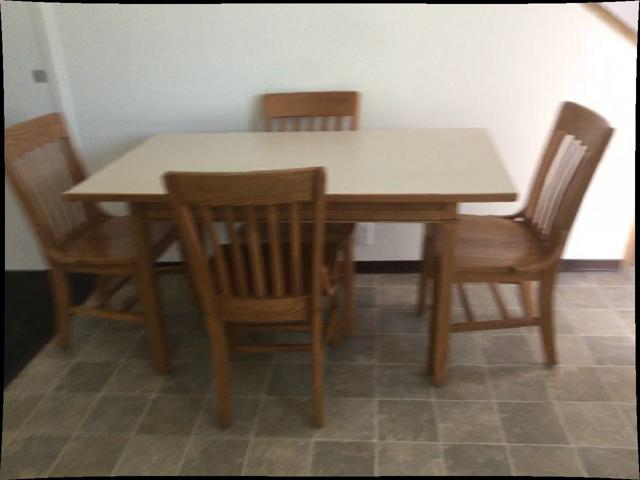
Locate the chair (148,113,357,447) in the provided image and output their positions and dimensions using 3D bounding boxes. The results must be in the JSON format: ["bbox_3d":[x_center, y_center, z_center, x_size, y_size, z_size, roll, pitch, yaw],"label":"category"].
[{"bbox_3d":[-0.150,0.110,1.930,0.509,0.901,0.640,-2,25,3],"label":"chair"}]

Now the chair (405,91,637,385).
[{"bbox_3d":[0.649,-0.030,2.140,0.579,0.881,0.640,-2,25,2],"label":"chair"}]

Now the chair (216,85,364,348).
[{"bbox_3d":[-0.080,-0.120,2.410,0.479,0.901,0.650,-2,25,2],"label":"chair"}]
